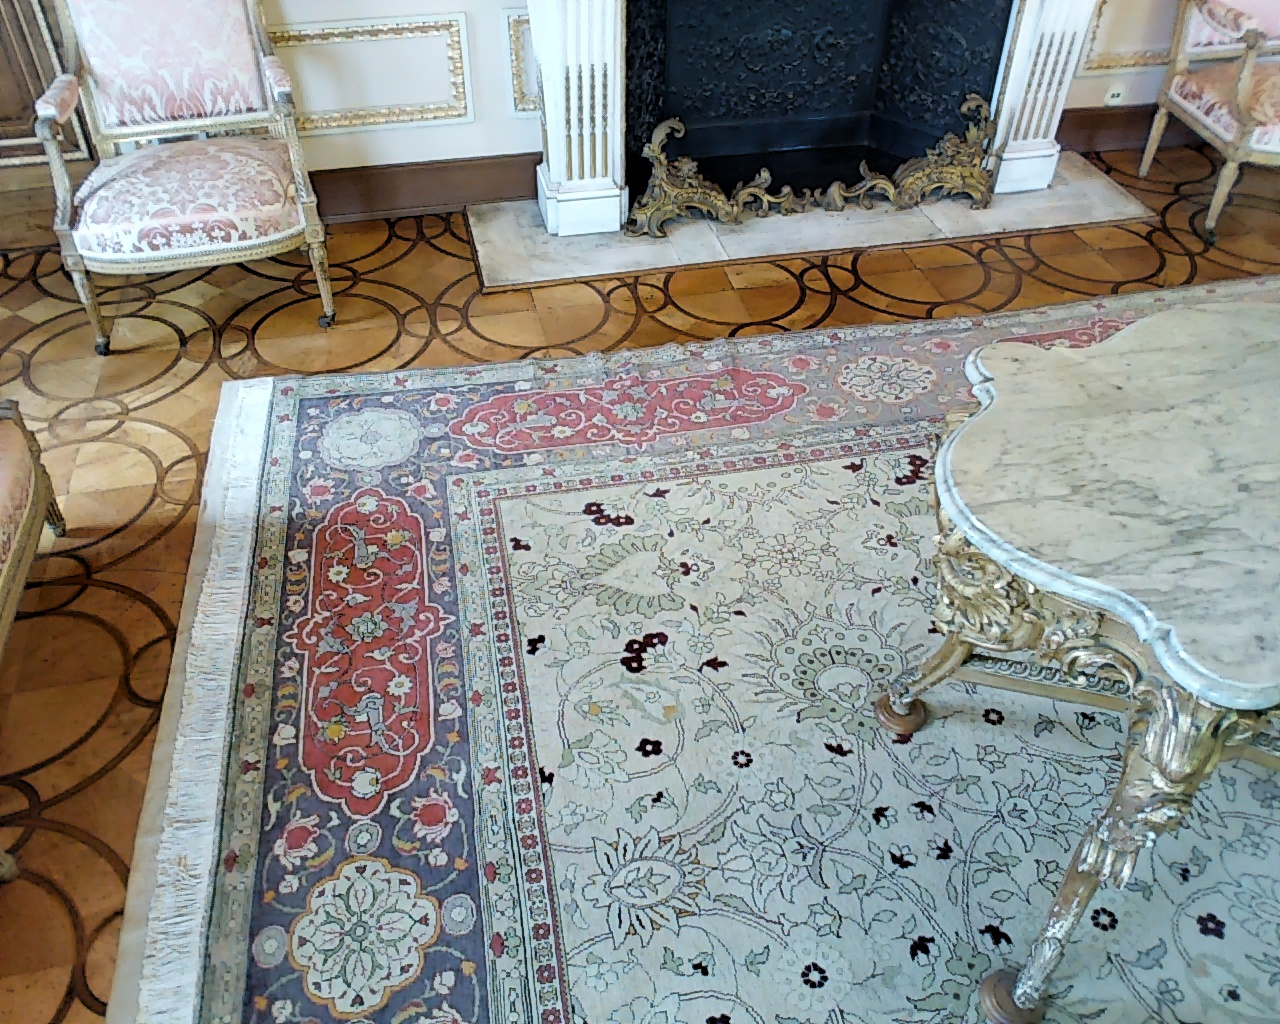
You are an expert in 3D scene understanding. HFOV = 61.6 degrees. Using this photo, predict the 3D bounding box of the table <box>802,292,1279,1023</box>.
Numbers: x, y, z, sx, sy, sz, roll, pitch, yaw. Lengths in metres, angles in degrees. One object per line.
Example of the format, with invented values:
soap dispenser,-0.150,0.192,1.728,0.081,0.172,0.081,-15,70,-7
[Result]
table,1.000,0.240,1.700,1.190,0.830,0.830,-8,42,-9

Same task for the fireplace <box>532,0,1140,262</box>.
fireplace,0.620,-1.580,3.510,1.880,1.210,0.500,-8,42,-9
